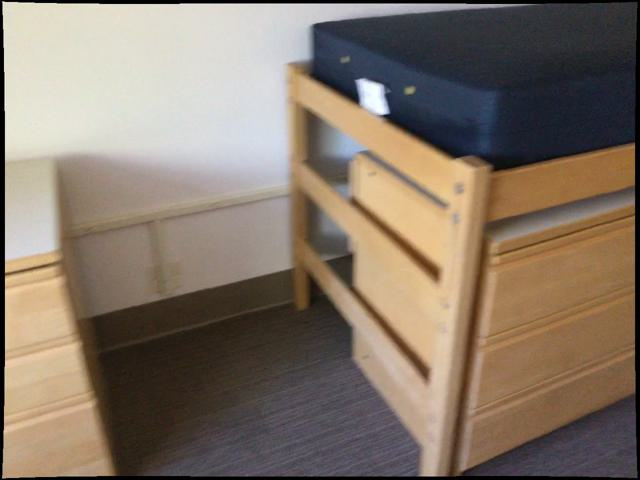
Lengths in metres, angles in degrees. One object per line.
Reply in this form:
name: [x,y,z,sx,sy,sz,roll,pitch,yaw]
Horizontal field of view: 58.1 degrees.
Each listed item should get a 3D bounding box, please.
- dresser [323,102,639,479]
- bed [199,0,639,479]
dresser: [0.539,0.120,1.730,0.808,0.792,0.630,-16,30,-18]
bed: [0.948,-0.231,1.990,2.355,1.122,1.060,-15,31,-19]
